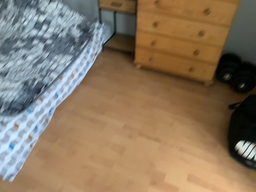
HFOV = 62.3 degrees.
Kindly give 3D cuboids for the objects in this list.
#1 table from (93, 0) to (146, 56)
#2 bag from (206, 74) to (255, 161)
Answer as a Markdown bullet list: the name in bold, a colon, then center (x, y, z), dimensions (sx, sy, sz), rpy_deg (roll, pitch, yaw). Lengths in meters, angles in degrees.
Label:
- **table**: center (-0.080, -0.850, 2.340), dimensions (0.430, 0.610, 0.380), rpy_deg (16, 45, 15)
- **bag**: center (0.890, 0.140, 1.610), dimensions (0.410, 0.220, 0.600), rpy_deg (19, 46, 18)
